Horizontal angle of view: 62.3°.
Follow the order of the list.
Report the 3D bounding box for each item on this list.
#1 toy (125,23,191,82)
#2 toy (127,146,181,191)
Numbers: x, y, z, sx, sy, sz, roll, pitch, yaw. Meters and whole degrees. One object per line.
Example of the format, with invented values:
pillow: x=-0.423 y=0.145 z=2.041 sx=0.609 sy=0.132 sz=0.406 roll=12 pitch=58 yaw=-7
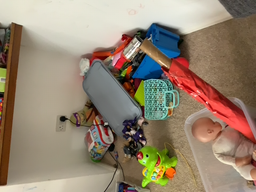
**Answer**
toy: x=0.180 y=-0.250 z=1.340 sx=0.340 sy=0.220 sz=0.270 roll=-1 pitch=83 yaw=53
toy: x=0.160 y=0.450 z=1.310 sx=0.230 sy=0.220 sz=0.230 roll=-2 pitch=83 yaw=53
